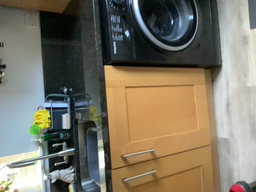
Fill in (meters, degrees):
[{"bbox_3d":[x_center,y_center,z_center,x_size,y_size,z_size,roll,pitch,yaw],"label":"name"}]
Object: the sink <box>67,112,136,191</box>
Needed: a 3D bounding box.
[{"bbox_3d":[-0.170,0.330,1.240,0.390,0.230,0.450,-4,89,58],"label":"sink"}]
